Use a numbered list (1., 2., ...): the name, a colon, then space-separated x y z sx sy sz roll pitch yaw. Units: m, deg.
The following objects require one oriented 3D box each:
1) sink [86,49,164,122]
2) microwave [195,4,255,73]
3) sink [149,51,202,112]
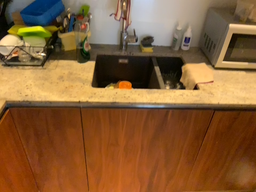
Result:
1. sink: -0.030 -0.070 1.230 0.370 0.250 0.370 1 37 -4
2. microwave: 0.690 -0.330 1.220 0.460 0.280 0.300 1 37 -5
3. sink: 0.250 -0.100 1.230 0.190 0.170 0.380 1 37 -4
